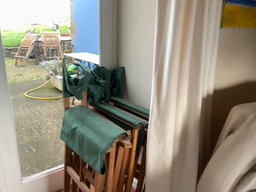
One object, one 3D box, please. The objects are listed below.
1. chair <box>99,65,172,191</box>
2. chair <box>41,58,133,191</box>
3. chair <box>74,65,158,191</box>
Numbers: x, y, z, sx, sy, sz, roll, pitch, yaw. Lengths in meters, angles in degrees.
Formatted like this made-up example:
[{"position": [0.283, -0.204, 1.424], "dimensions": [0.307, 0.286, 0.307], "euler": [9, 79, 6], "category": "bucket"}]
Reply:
[{"position": [0.000, 0.270, 1.420], "dimensions": [0.120, 0.870, 0.550], "euler": [-10, 22, -36], "category": "chair"}, {"position": [-0.270, 0.290, 1.210], "dimensions": [0.190, 0.920, 0.650], "euler": [-10, 22, -36], "category": "chair"}, {"position": [-0.120, 0.290, 1.340], "dimensions": [0.190, 0.870, 0.570], "euler": [-10, 22, -36], "category": "chair"}]
